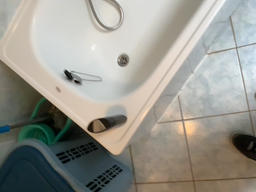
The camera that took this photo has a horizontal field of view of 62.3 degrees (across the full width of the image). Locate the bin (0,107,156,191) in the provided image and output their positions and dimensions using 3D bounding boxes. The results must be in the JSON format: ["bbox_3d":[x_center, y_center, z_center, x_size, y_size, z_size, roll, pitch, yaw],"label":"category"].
[{"bbox_3d":[-0.300,0.410,1.090,0.700,0.580,0.380,32,98,15],"label":"bin"}]
